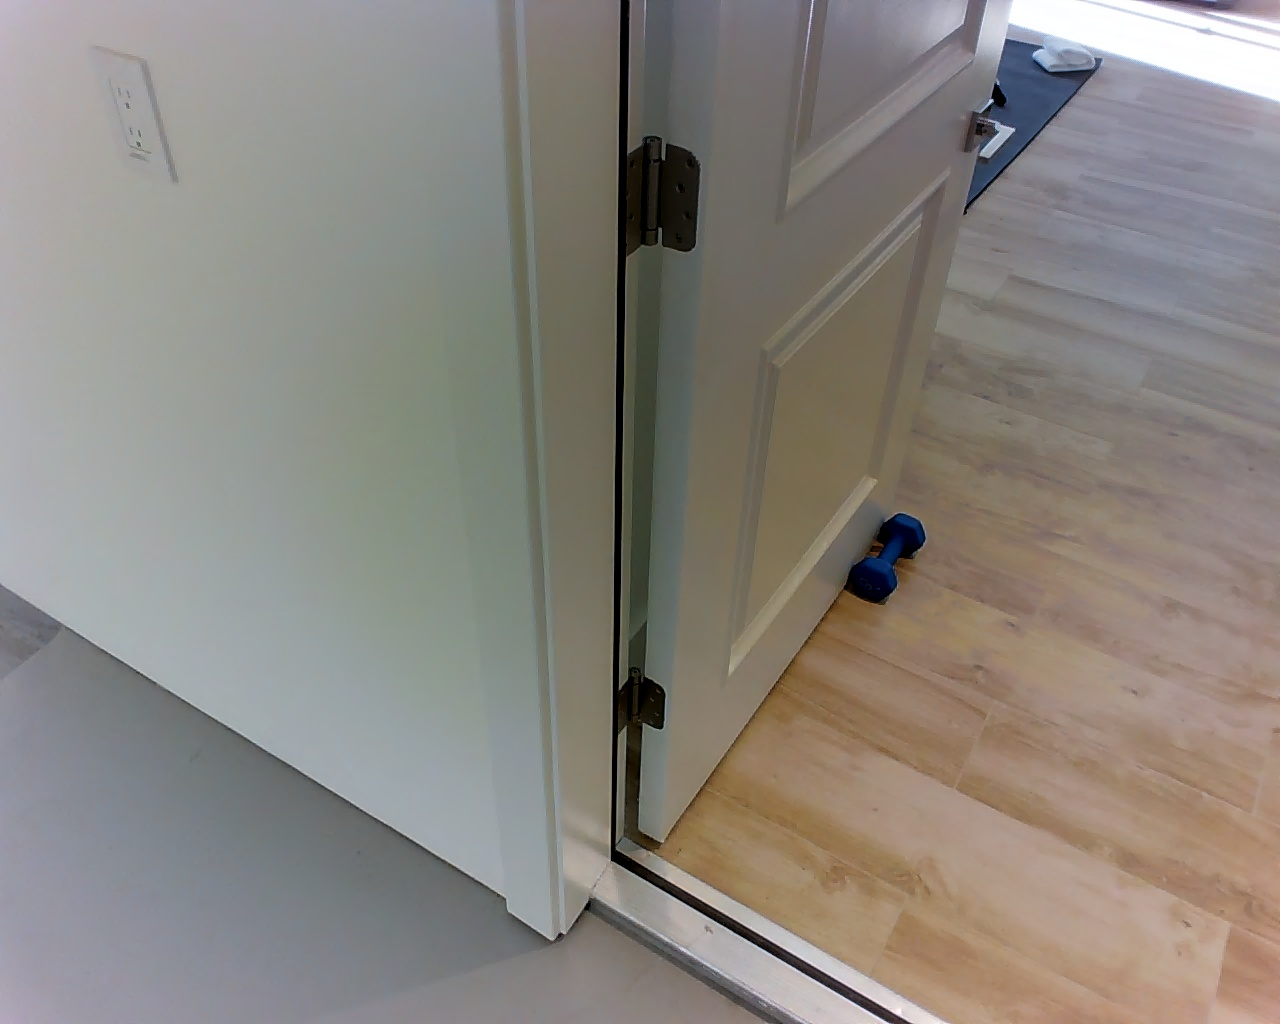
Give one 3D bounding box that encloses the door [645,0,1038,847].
[{"bbox_3d":[0.310,-0.520,1.330,0.090,2.140,0.900,24,46,23],"label":"door"}]
